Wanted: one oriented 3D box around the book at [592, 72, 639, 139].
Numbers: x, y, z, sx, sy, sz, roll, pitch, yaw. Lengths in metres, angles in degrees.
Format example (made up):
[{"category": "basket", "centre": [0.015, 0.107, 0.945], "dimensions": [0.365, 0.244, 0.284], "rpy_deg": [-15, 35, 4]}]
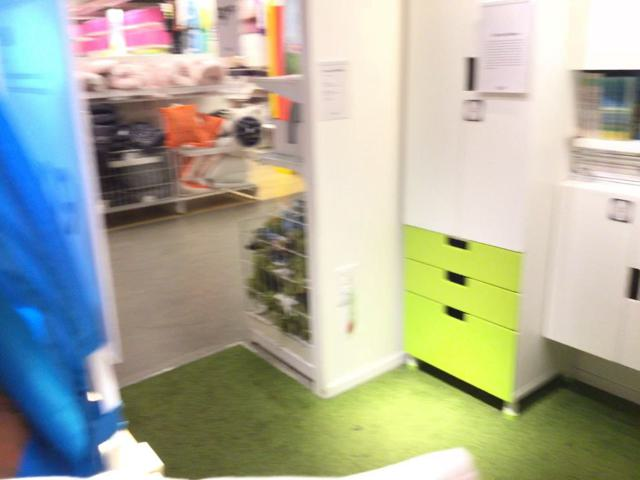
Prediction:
[{"category": "book", "centre": [1.030, -0.460, 1.970], "dimensions": [0.140, 0.210, 0.110], "rpy_deg": [-11, 19, -27]}]
